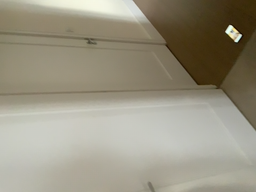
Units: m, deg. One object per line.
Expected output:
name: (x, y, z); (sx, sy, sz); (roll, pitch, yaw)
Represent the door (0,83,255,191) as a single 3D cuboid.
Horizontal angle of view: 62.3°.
door: (0.020, 0.260, 1.230); (0.070, 1.950, 0.880); (109, 150, -41)
